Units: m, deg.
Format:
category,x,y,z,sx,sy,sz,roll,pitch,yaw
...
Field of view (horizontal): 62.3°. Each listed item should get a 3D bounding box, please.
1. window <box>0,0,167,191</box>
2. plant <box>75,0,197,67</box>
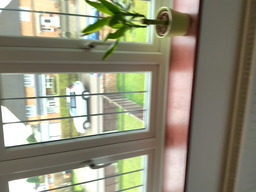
category,x,y,z,sx,sy,sz,roll,pitch,yaw
window,-0.210,0.060,1.110,0.080,0.890,1.450,-160,69,-64
plant,0.040,-0.340,1.010,0.220,0.520,0.370,178,88,-65
